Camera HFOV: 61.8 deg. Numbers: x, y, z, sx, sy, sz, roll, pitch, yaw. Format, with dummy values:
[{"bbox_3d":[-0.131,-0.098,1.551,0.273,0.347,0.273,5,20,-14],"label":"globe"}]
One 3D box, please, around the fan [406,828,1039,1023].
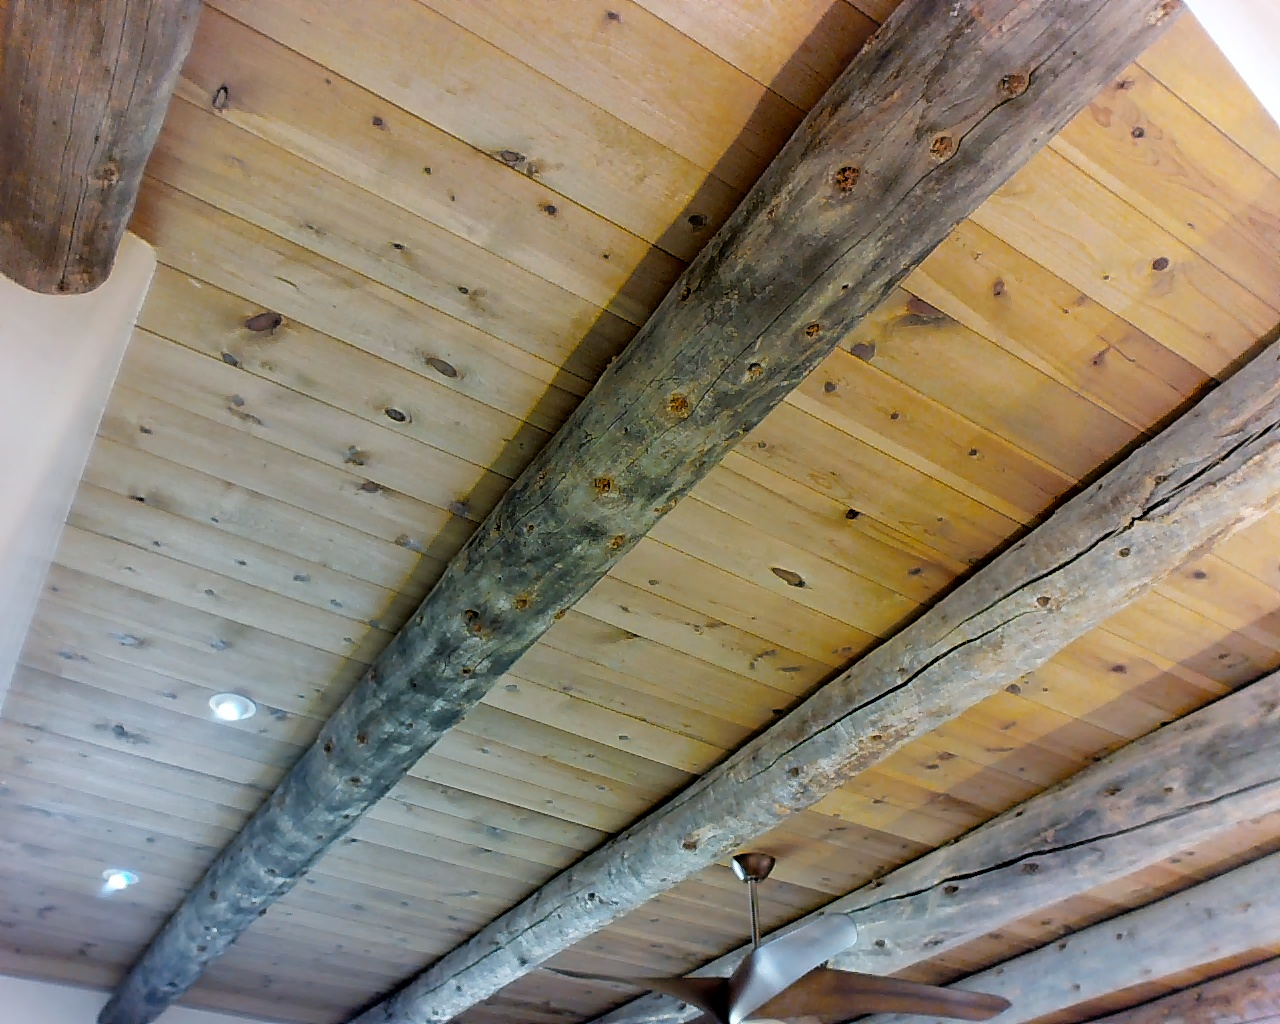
[{"bbox_3d":[0.330,1.641,3.520,1.490,0.270,1.540,-25,-47,25],"label":"fan"}]
